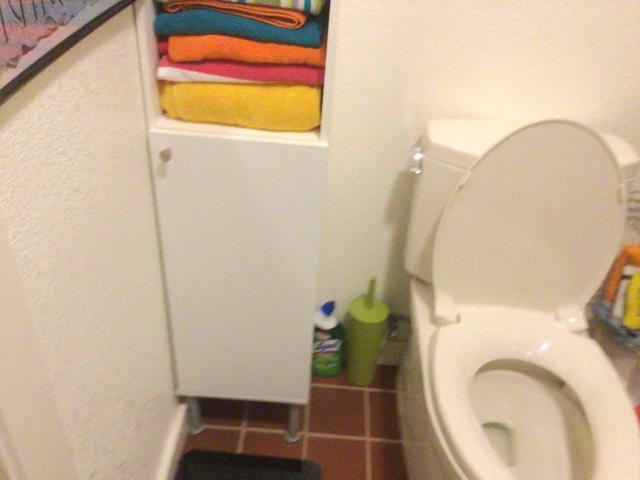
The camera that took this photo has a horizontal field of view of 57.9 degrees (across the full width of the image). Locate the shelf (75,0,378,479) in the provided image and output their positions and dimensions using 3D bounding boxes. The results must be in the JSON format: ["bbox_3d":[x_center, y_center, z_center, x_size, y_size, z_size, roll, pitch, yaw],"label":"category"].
[{"bbox_3d":[-0.120,-0.300,0.950,0.380,1.790,0.390,8,32,0],"label":"shelf"}]

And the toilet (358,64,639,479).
[{"bbox_3d":[0.360,0.220,1.100,0.450,0.860,0.700,8,32,0],"label":"toilet"}]
